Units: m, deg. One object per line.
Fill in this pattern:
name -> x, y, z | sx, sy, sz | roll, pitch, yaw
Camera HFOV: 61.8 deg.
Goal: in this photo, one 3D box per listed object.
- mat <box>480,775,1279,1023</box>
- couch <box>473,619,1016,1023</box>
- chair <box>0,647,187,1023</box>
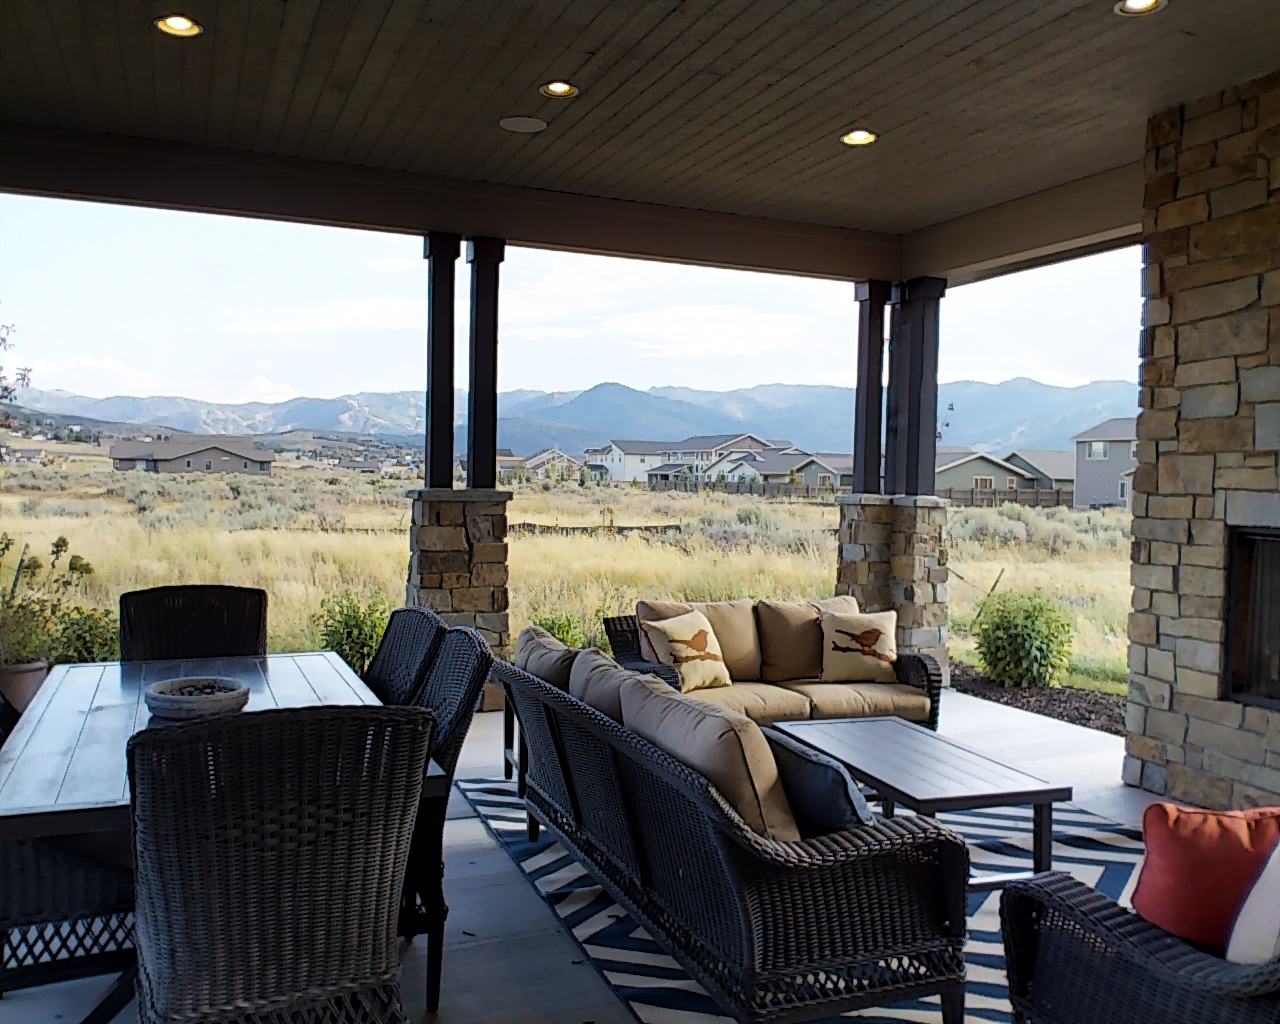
mat -> 1.160, 1.350, 3.340 | 2.630, 0.080, 3.020 | 1, 1, -22
couch -> 0.150, 0.890, 3.430 | 0.890, 0.840, 1.950 | 1, 1, -23
chair -> -1.480, 0.870, 2.740 | 0.580, 0.930, 0.700 | 1, 1, -23
